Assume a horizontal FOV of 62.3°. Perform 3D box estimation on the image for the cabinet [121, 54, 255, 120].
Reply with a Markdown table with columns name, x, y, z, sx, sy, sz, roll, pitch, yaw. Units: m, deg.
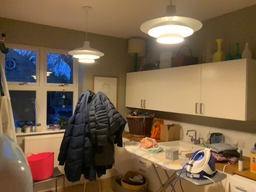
| name | x | y | z | sx | sy | sz | roll | pitch | yaw |
| --- | --- | --- | --- | --- | --- | --- | --- | --- | --- |
| cabinet | 0.710 | -0.130 | 3.430 | 0.450 | 0.710 | 2.440 | 0 | 2 | -33 |
